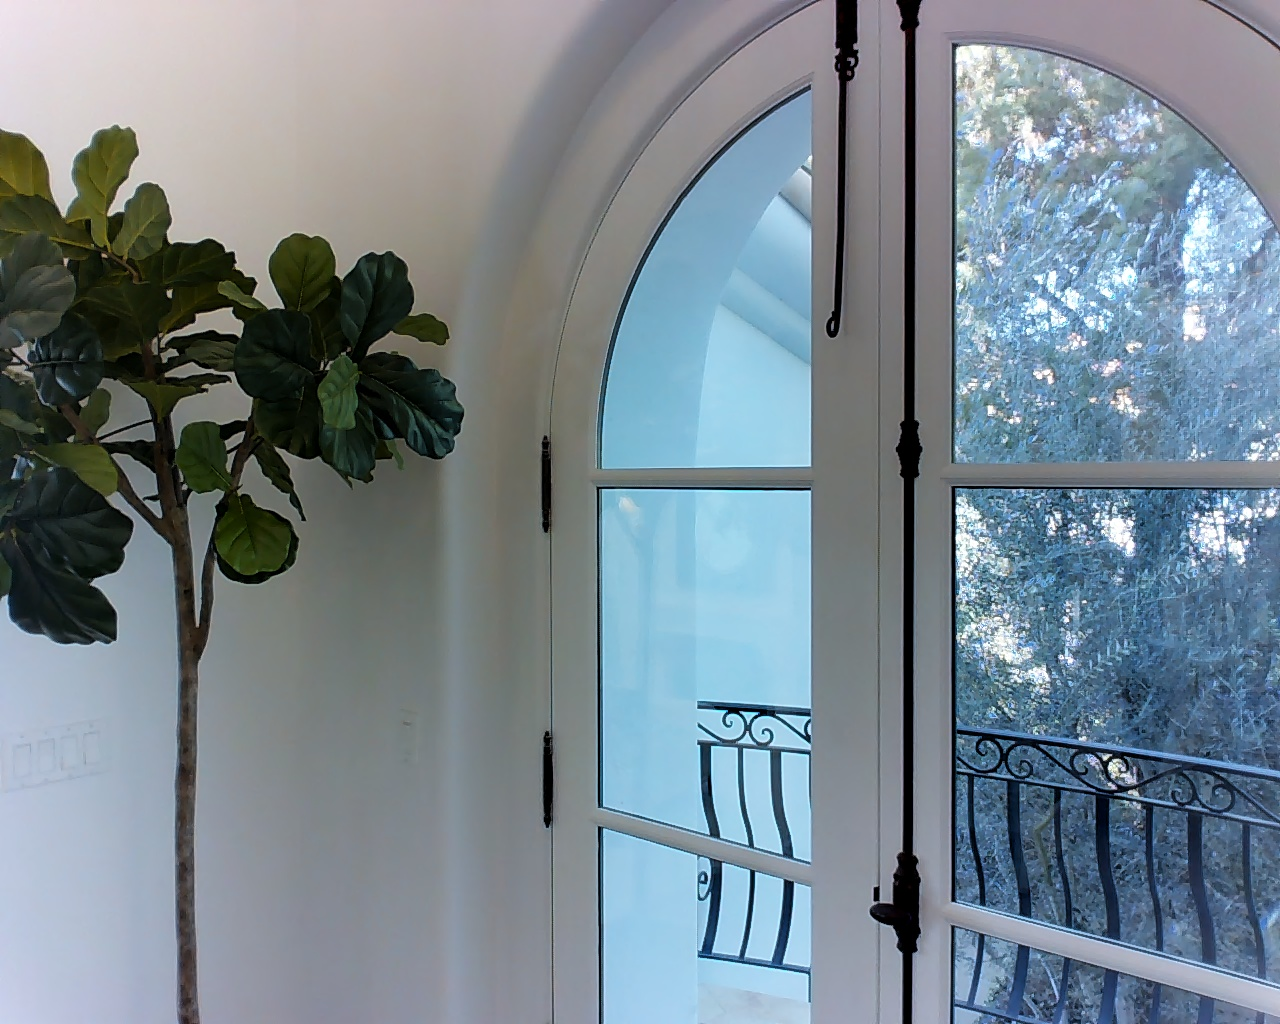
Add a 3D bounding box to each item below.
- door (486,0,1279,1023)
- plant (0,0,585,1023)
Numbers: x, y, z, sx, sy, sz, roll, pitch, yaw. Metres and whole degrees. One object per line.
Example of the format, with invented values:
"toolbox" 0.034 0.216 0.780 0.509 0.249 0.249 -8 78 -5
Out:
"door" 0.400 0.310 1.780 1.830 2.591 0.120 1 2 41
"plant" -0.810 0.480 1.930 0.960 2.261 1.040 1 2 41
